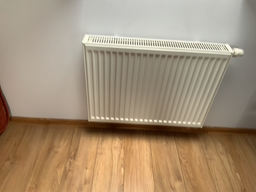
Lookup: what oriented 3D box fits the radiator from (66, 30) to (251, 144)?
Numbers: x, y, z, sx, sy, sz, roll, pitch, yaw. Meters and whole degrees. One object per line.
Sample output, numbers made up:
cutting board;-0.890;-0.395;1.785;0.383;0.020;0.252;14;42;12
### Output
radiator;0.140;-0.020;1.410;0.970;0.700;0.220;4;39;-1
